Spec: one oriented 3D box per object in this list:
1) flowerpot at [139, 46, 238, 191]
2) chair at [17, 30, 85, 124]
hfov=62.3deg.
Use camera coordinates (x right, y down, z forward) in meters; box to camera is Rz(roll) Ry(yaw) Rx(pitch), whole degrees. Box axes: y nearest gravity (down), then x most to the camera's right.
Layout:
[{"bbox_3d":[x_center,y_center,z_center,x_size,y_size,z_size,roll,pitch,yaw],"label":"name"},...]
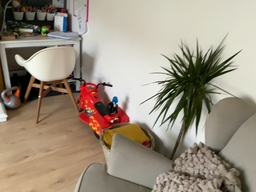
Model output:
[{"bbox_3d":[0.360,0.230,1.520,0.260,1.100,0.300,-9,34,-30],"label":"flowerpot"},{"bbox_3d":[-0.850,-0.240,2.350,0.500,0.810,0.580,-12,36,-34],"label":"chair"}]
